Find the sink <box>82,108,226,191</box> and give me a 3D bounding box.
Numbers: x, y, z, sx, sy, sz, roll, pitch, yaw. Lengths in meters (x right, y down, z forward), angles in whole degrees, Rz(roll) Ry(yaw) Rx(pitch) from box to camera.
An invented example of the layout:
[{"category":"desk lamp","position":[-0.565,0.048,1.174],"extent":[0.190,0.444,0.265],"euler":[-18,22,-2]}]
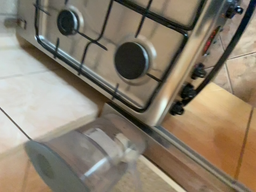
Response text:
[{"category":"sink","position":[0.050,0.320,0.730],"extent":[0.340,0.160,0.410],"euler":[35,119,20]}]
